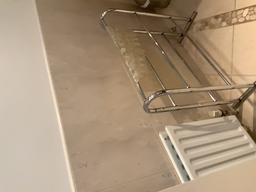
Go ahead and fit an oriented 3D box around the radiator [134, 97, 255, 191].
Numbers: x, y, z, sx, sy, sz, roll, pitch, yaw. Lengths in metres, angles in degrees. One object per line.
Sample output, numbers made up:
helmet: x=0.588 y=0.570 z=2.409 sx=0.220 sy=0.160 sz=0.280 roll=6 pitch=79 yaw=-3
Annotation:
radiator: x=0.500 y=0.360 z=1.030 sx=0.760 sy=0.720 sz=0.120 roll=66 pitch=145 yaw=33
